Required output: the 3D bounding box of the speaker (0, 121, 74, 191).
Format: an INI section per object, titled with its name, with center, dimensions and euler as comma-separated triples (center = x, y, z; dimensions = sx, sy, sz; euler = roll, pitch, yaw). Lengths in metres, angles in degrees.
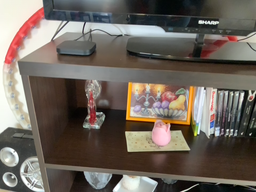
[speaker]
center = -0.460, 0.310, 1.030
dimensions = 0.300, 0.260, 0.230
euler = 6, 28, 6
